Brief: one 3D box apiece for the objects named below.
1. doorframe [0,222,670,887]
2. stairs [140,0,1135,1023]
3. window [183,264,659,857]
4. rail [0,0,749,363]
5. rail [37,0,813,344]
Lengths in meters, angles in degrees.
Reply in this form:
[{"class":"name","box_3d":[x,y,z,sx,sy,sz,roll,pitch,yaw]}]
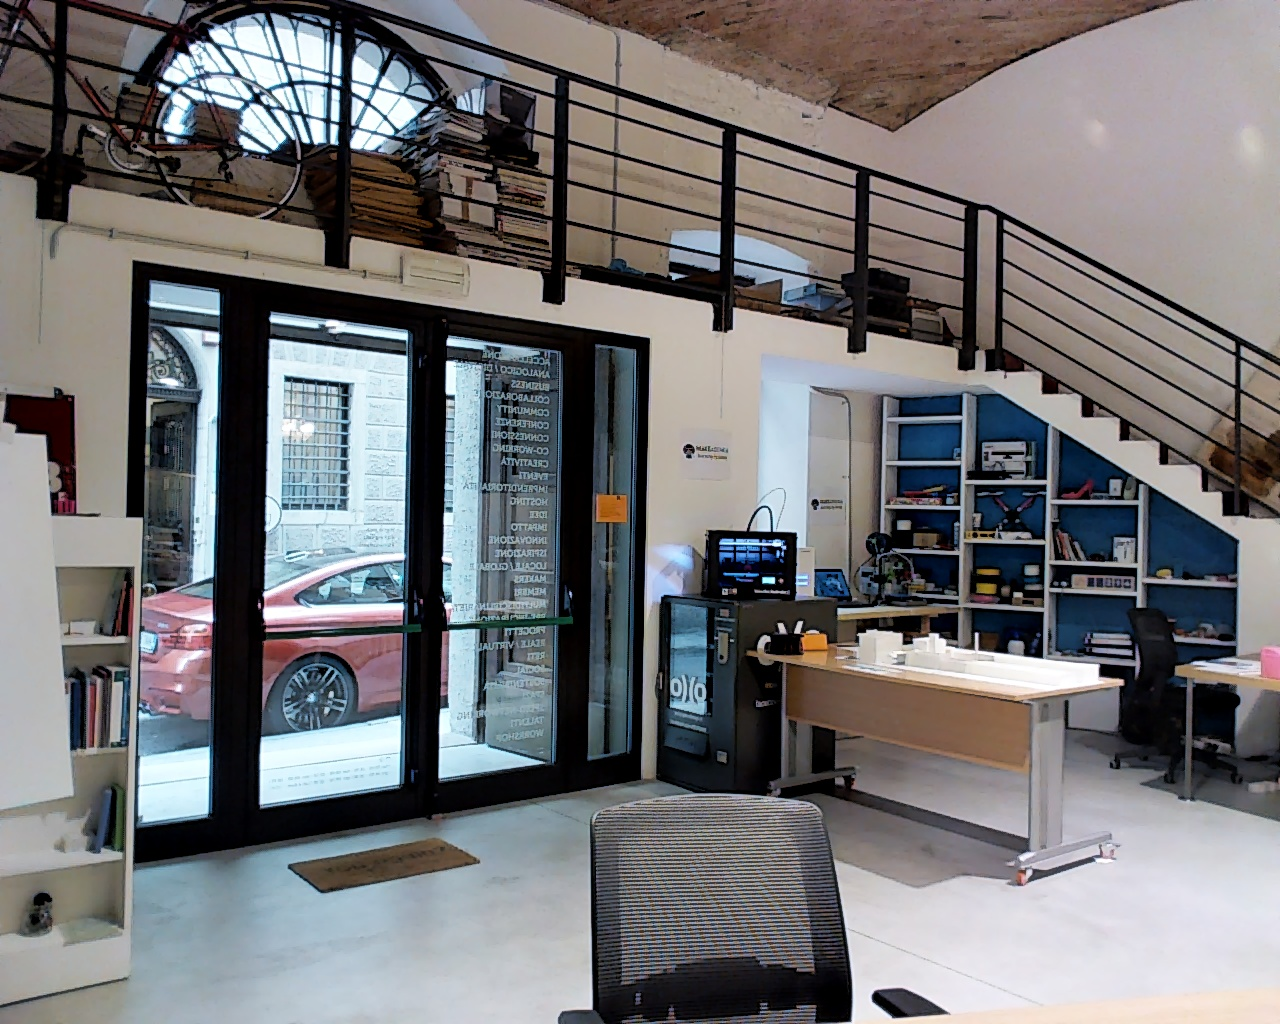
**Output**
[{"class":"doorframe","box_3d":[-1.460,0.190,5.640,3.179,2.601,1.150,1,0,-38]},{"class":"stairs","box_3d":[-0.280,-0.440,4.300,3.959,3.791,1.050,1,0,32]},{"class":"window","box_3d":[-0.940,0.230,5.420,2.520,2.541,0.090,1,0,-38]},{"class":"rail","box_3d":[-1.160,-2.321,6.060,4.179,2.461,0.680,1,0,-38]},{"class":"rail","box_3d":[-0.680,-1.740,5.440,4.099,1.270,0.340,1,0,-38]}]
